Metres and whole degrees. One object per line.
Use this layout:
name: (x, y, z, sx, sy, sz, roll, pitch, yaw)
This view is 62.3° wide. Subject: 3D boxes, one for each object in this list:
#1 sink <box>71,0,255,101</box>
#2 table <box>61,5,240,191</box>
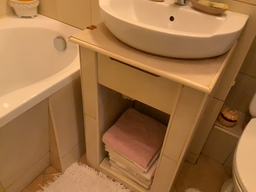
sink: (0.120, -0.230, 0.720, 0.480, 0.150, 0.360, 26, 43, 22)
table: (0.060, 0.080, 0.970, 0.500, 0.760, 0.380, 26, 43, 22)
